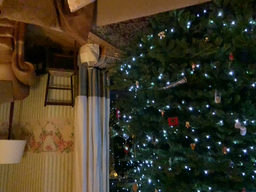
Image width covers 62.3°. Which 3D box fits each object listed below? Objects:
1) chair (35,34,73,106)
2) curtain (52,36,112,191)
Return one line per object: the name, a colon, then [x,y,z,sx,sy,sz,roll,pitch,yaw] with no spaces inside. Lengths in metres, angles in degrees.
chair: [-1.000,-0.320,2.880,0.410,0.850,0.450,3,170,-20]
curtain: [-0.590,0.910,2.900,0.630,3.390,0.590,-1,170,4]
